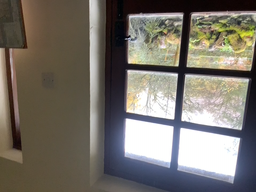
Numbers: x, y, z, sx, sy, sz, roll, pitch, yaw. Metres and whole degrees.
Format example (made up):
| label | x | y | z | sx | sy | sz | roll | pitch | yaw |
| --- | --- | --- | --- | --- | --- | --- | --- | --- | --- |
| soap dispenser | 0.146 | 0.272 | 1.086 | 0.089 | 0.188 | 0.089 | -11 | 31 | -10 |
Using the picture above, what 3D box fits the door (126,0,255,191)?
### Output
| label | x | y | z | sx | sy | sz | roll | pitch | yaw |
| --- | --- | --- | --- | --- | --- | --- | --- | --- | --- |
| door | 0.440 | -0.440 | 1.240 | 0.820 | 1.980 | 0.130 | 8 | -166 | 20 |
